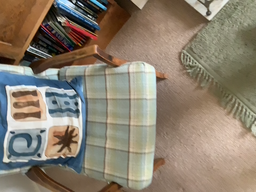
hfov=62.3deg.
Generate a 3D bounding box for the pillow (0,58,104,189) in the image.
[{"bbox_3d":[-0.370,0.100,0.920,0.160,0.400,0.380,22,137,54],"label":"pillow"}]
